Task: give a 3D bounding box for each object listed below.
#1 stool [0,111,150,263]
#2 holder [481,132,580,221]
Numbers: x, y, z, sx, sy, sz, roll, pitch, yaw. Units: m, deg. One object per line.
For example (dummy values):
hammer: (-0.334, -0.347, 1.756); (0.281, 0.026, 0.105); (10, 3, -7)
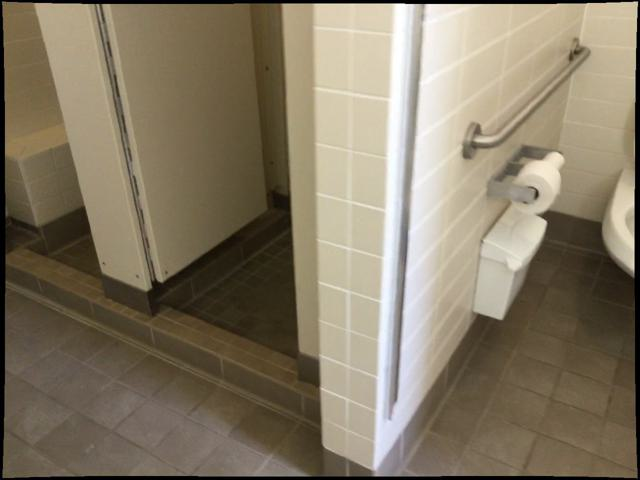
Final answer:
stool: (-1.129, -0.260, 2.620); (0.270, 0.450, 0.580); (17, 37, 30)
holder: (0.599, -0.190, 1.630); (0.150, 0.090, 0.370); (17, 37, 30)
